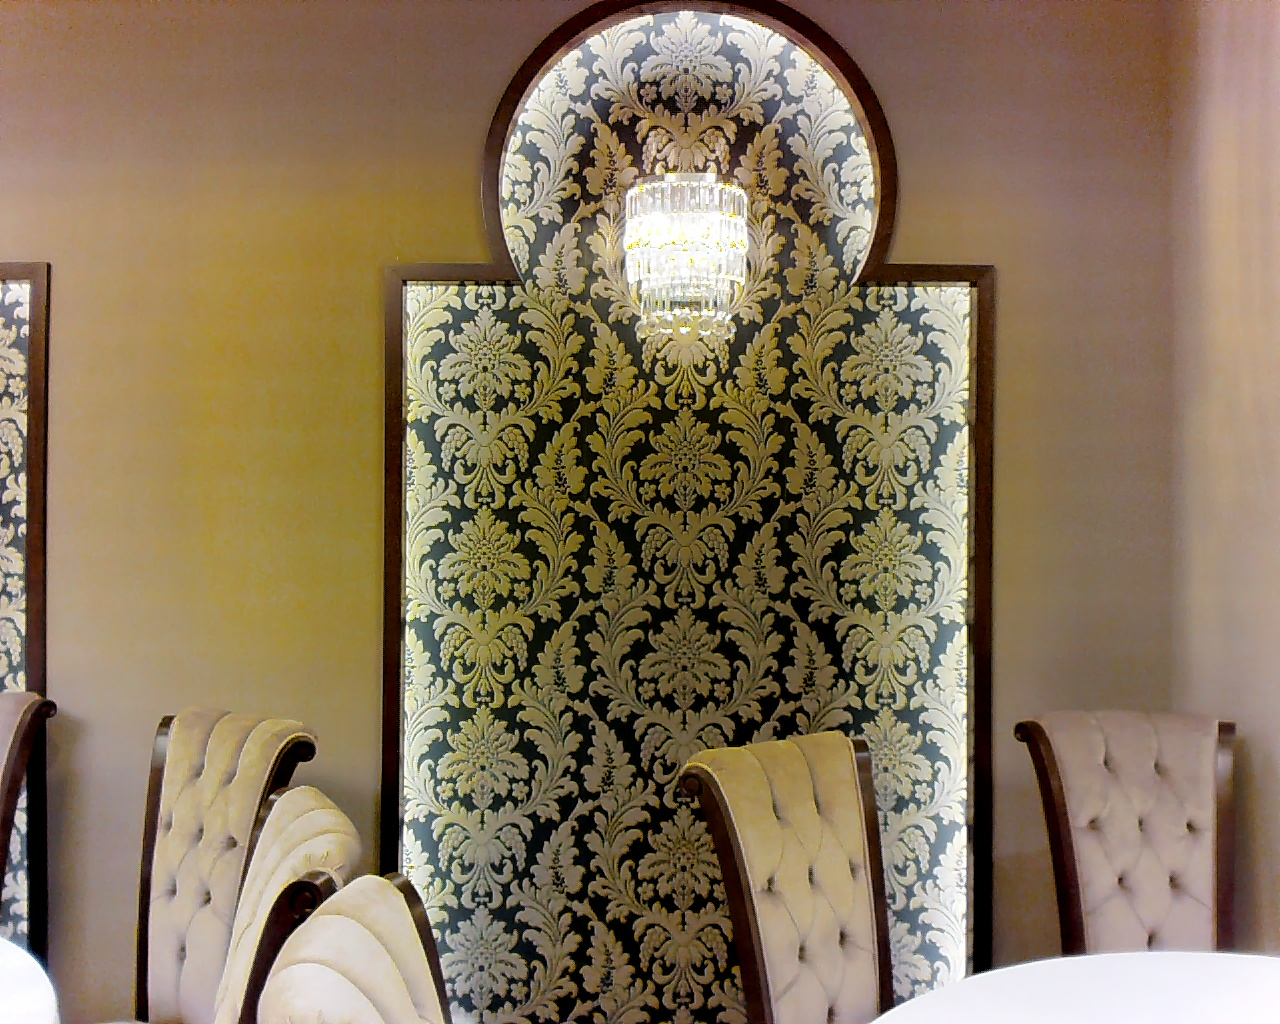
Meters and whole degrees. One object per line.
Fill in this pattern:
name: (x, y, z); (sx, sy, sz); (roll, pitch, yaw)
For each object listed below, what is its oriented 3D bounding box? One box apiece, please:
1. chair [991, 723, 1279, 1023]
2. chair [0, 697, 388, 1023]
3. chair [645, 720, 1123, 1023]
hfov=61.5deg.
chair: (1.129, 1.010, 2.080); (0.670, 1.070, 0.700); (0, -1, 0)
chair: (-0.970, 1.000, 2.130); (0.580, 1.120, 0.710); (0, -1, 45)
chair: (0.430, 0.990, 1.900); (0.610, 1.090, 0.580); (0, -1, 45)
